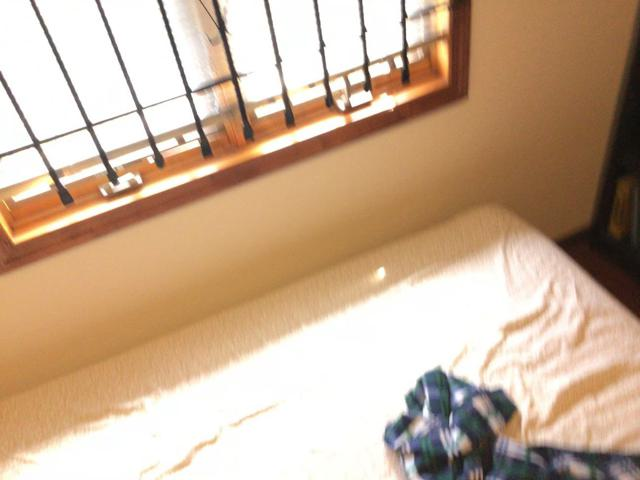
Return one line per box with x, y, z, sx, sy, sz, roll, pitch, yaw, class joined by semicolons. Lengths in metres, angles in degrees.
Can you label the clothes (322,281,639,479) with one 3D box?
0.390;0.400;1.090;0.590;0.120;0.540;-22;43;-13;clothes
